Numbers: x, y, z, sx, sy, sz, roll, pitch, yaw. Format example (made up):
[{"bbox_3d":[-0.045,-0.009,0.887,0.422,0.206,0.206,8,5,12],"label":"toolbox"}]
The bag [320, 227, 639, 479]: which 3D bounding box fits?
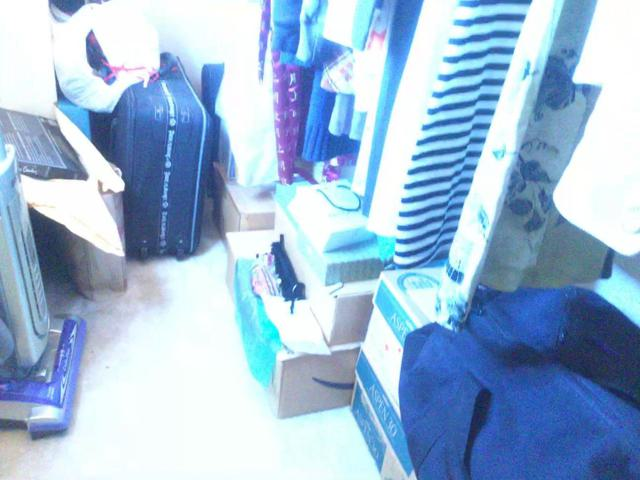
[{"bbox_3d":[0.360,0.300,0.930,0.490,0.370,0.580,-6,32,-24],"label":"bag"}]
